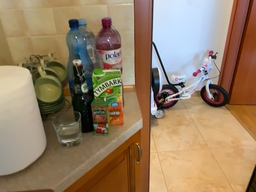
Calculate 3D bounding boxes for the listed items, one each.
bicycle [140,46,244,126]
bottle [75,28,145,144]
[{"bbox_3d":[0.580,-0.110,2.240,0.890,0.680,0.470,-1,30,1],"label":"bicycle"},{"bbox_3d":[-0.060,-0.060,0.760,0.180,0.280,0.340,-4,30,-4],"label":"bottle"}]
